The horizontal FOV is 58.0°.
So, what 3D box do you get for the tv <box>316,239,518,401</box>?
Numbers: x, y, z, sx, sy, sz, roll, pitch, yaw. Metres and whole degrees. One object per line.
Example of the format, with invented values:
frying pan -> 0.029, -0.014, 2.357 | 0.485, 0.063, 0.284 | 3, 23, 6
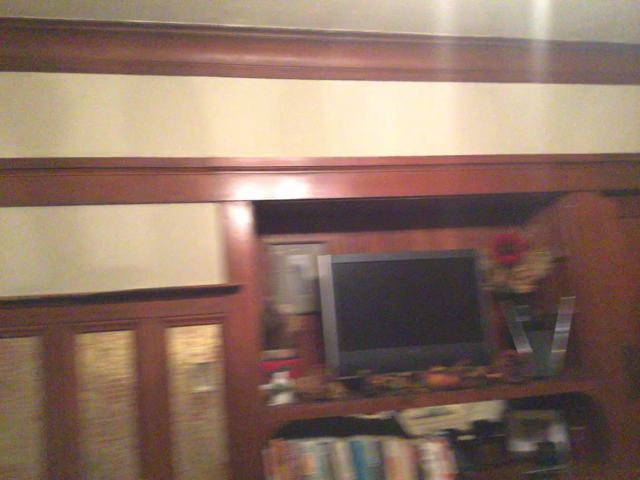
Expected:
tv -> 0.420, 0.350, 2.610 | 0.790, 0.620, 0.260 | -4, -10, -10
